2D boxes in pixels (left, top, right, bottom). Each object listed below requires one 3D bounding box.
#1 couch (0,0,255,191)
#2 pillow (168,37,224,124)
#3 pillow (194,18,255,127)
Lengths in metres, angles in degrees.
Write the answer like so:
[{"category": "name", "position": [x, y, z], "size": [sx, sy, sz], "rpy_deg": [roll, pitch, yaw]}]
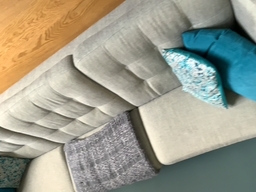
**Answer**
[{"category": "couch", "position": [-0.260, 0.210, 1.540], "size": [2.350, 0.730, 1.120], "rpy_deg": [-27, 140, 23]}, {"category": "pillow", "position": [0.320, -0.090, 1.040], "size": [0.090, 0.280, 0.350], "rpy_deg": [-27, 106, 20]}, {"category": "pillow", "position": [0.460, -0.130, 0.960], "size": [0.120, 0.360, 0.390], "rpy_deg": [-26, 107, 20]}]
